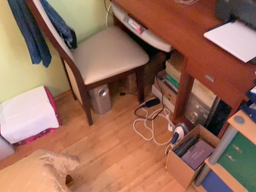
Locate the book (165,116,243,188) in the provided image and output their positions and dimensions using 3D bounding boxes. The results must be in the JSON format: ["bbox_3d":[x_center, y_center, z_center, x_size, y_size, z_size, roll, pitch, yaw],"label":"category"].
[{"bbox_3d":[0.420,0.330,1.230,0.330,0.290,0.180,-23,54,-14],"label":"book"}]
